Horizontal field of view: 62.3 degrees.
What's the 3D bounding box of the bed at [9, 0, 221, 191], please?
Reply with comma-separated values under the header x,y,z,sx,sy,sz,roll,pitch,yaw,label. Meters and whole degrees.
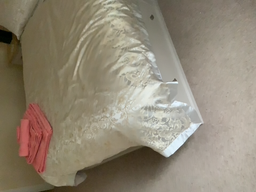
x,y,z,sx,sy,sz,roll,pitch,yaw,label
-0.460,-0.430,2.010,1.650,0.700,2.140,-34,62,39,bed
